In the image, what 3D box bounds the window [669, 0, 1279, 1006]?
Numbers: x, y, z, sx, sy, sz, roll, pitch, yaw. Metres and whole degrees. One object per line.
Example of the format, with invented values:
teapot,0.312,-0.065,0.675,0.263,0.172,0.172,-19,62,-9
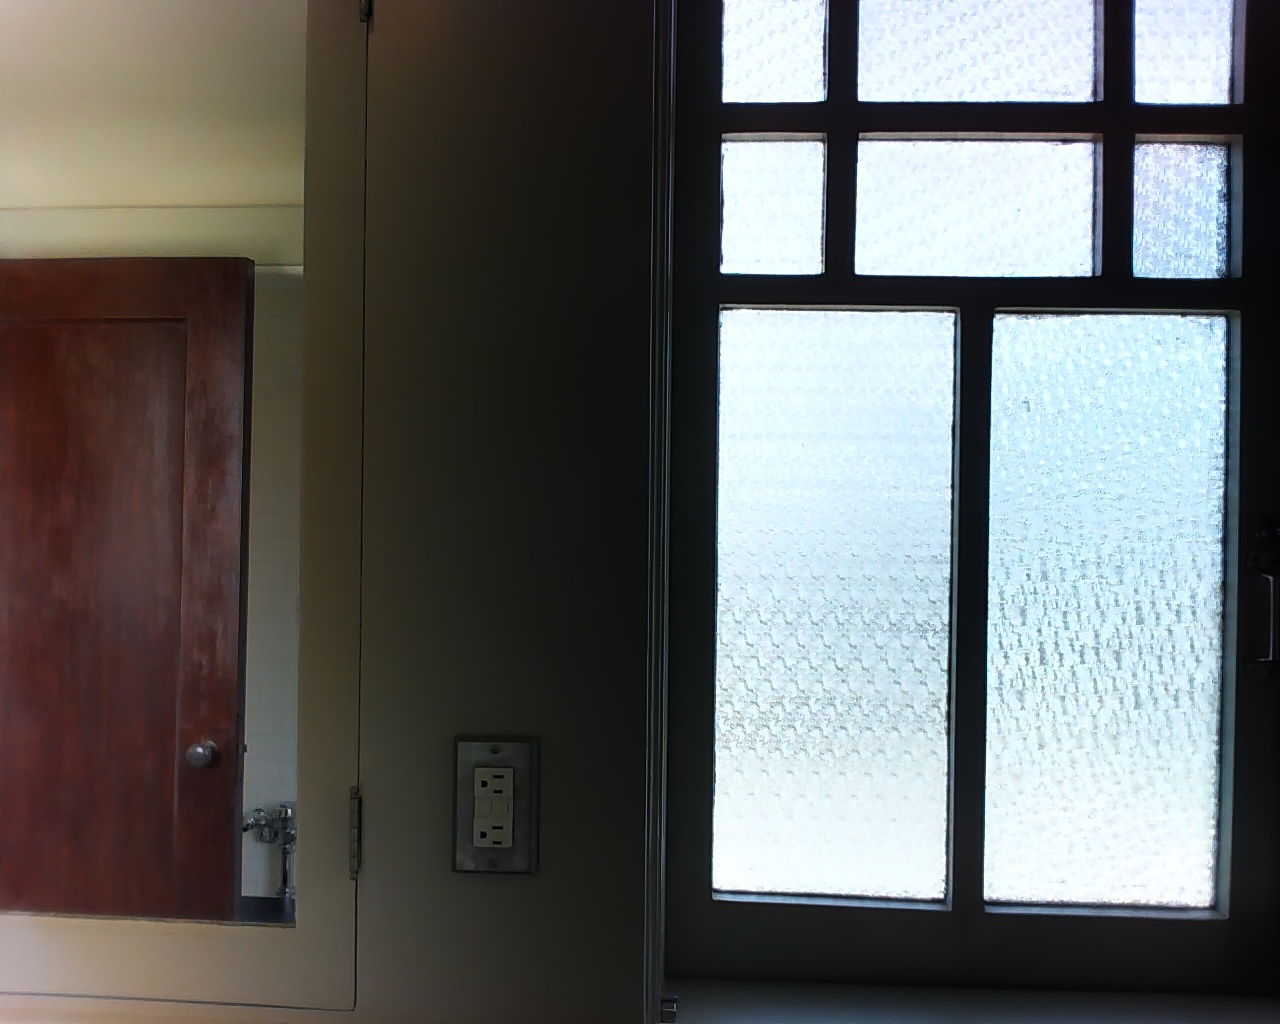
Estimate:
window,0.330,-0.060,1.050,0.580,1.020,0.080,1,0,4
